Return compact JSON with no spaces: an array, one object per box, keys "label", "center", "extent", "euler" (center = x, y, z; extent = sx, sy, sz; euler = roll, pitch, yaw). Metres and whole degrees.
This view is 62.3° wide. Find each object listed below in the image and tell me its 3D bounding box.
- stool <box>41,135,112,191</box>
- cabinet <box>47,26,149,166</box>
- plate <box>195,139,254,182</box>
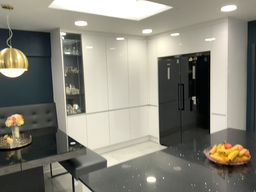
[{"label":"stool","center":[-0.760,0.990,2.920],"extent":[0.460,0.580,1.240],"euler":[-7,8,-37]},{"label":"cabinet","center":[-0.510,-0.060,4.400],"extent":[1.930,2.390,0.590],"euler":[-7,7,-36]},{"label":"plate","center":[0.730,0.470,1.610],"extent":[0.310,0.160,0.300],"euler":[-7,8,-37]}]
